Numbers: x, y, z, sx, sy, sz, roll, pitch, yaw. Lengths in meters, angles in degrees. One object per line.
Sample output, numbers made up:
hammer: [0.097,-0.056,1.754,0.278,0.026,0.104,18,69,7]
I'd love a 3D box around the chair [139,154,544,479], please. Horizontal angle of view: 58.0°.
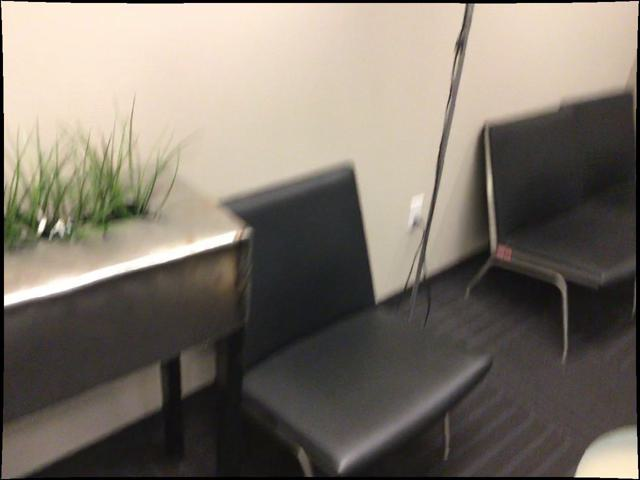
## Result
chair: [0.020,0.271,1.600,0.739,0.691,0.680,-19,39,-34]
